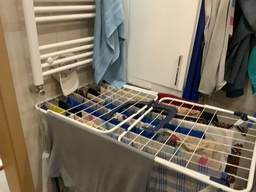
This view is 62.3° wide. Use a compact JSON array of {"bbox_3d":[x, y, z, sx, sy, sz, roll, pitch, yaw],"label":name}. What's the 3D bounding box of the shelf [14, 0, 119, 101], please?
[{"bbox_3d":[-0.270,-0.650,1.040,0.140,1.240,0.580,20,30,30],"label":"shelf"}]
